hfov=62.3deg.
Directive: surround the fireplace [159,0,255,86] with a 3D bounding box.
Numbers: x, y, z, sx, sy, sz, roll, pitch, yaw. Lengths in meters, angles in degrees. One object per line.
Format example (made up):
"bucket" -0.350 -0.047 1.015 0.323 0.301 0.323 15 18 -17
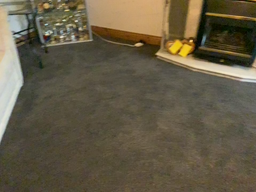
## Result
"fireplace" 1.040 -0.800 1.900 1.300 1.210 0.510 18 40 21
